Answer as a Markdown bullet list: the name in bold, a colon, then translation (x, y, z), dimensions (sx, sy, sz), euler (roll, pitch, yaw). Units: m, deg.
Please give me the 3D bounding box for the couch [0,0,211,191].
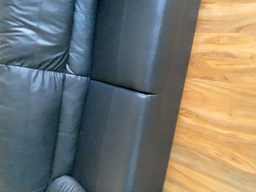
- **couch**: translation (-0.220, -0.100, 1.280), dimensions (0.900, 0.880, 1.930), euler (15, 98, 39)
